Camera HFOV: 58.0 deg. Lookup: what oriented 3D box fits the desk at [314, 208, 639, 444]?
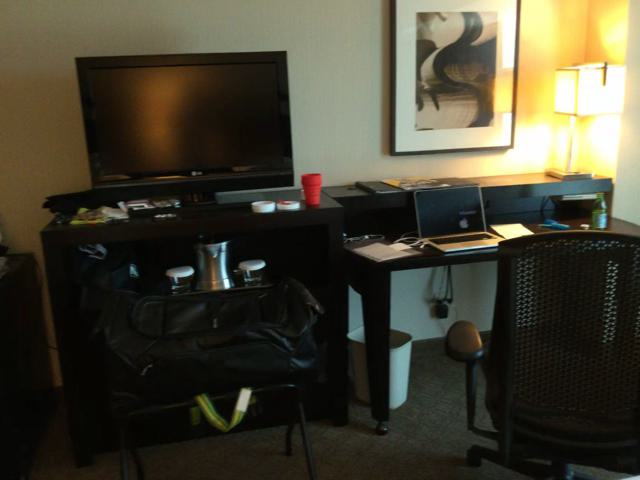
[{"bbox_3d":[0.740,0.320,2.680,1.420,0.790,0.650,-3,14,-13],"label":"desk"}]
